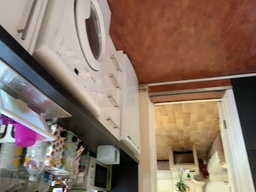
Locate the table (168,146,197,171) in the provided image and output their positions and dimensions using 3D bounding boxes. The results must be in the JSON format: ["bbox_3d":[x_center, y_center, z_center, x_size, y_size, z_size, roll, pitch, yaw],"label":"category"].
[{"bbox_3d":[1.260,1.470,4.940,0.600,0.450,0.600,-5,153,12],"label":"table"}]

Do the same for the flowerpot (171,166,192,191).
[{"bbox_3d":[1.190,1.840,4.730,0.390,0.490,0.470,-5,155,12],"label":"flowerpot"}]

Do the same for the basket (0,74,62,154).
[{"bbox_3d":[-0.520,0.100,0.830,0.350,0.170,0.350,-6,153,14],"label":"basket"}]
